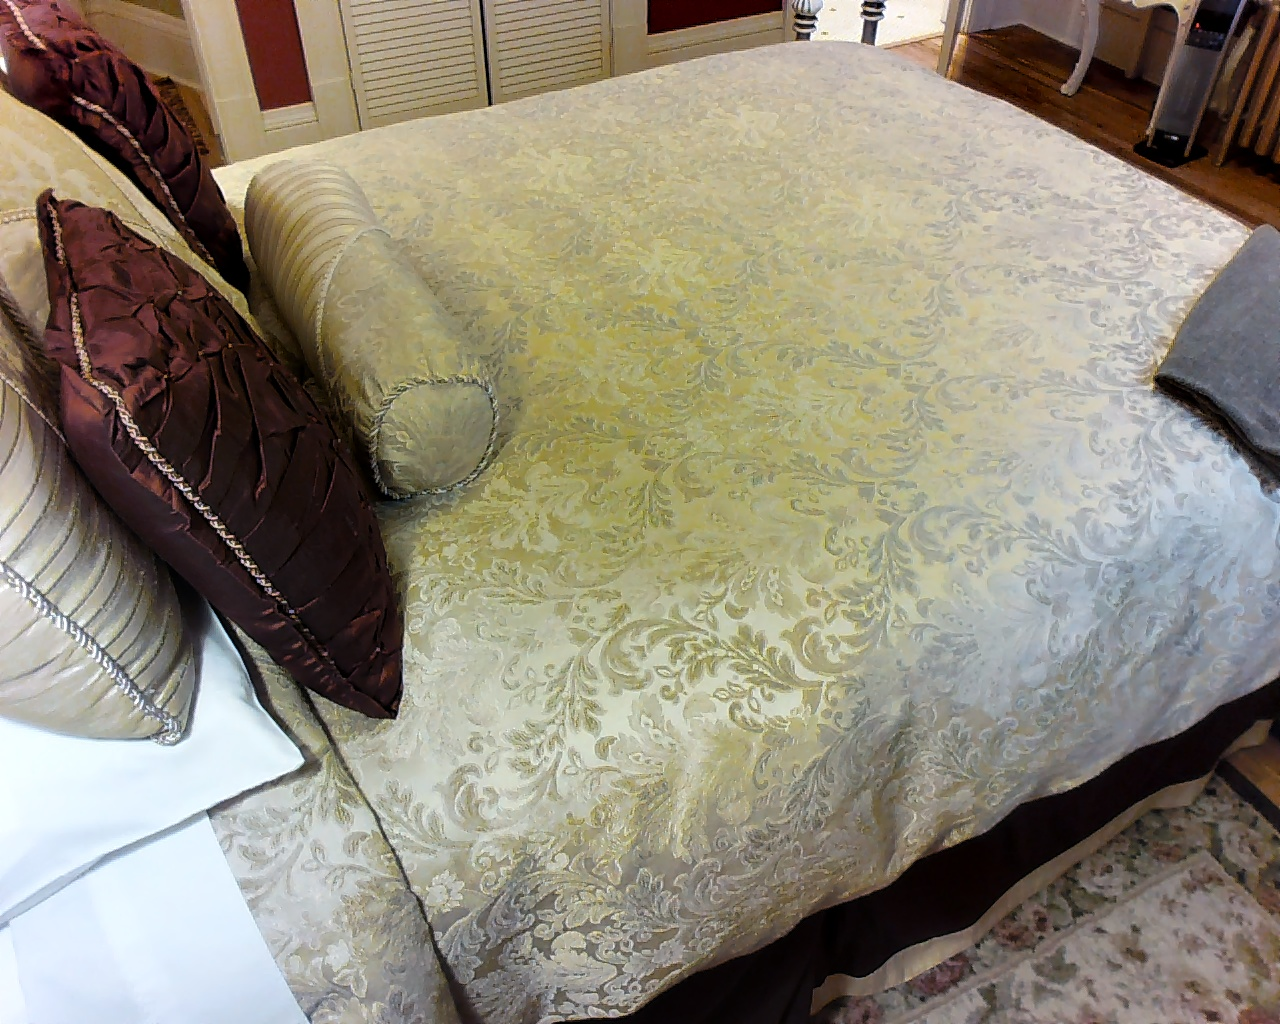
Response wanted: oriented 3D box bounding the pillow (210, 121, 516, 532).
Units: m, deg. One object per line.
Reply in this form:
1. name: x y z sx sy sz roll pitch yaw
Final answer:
1. pillow: -0.370 -0.270 1.380 0.180 0.190 0.640 -19 46 -20

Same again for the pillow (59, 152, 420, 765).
1. pillow: -0.380 -0.080 1.000 0.150 0.410 0.450 -19 31 -19

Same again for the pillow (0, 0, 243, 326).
1. pillow: -0.740 -0.540 1.510 0.180 0.430 0.450 -19 29 -19
